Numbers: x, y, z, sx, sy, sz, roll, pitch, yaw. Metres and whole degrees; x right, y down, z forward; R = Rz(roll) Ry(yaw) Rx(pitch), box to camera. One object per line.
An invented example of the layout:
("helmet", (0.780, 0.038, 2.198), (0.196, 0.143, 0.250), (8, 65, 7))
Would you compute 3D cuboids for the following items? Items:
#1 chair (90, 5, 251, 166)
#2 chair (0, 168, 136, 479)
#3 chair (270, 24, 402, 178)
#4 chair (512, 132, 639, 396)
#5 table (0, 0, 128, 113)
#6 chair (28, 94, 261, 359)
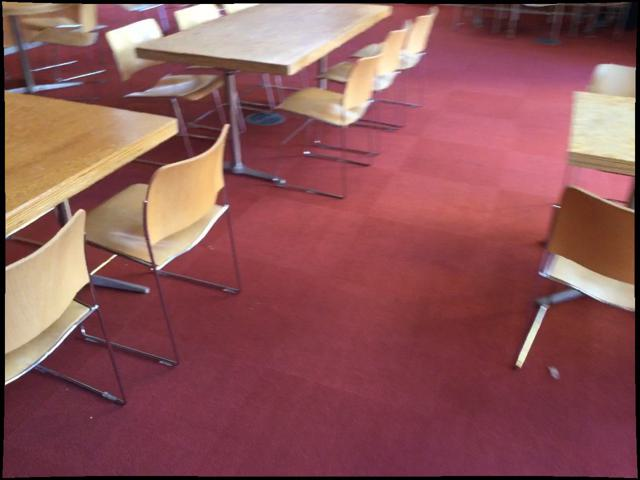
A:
("chair", (-0.859, -0.951, 3.490), (0.649, 0.731, 0.570), (13, 34, 19))
("chair", (-0.879, 0.230, 1.610), (0.460, 0.751, 0.380), (13, 34, 18))
("chair", (0.090, -0.781, 3.190), (0.530, 0.640, 0.490), (16, 35, 22))
("chair", (1.009, 0.080, 1.900), (0.550, 0.660, 0.470), (14, 34, 19))
("table", (-2.238, -1.552, 4.520), (0.939, 0.711, 0.930), (13, 34, 19))
("chair", (-0.579, -0.070, 2.110), (0.520, 0.721, 0.510), (13, 34, 18))
